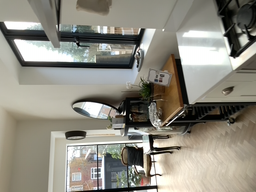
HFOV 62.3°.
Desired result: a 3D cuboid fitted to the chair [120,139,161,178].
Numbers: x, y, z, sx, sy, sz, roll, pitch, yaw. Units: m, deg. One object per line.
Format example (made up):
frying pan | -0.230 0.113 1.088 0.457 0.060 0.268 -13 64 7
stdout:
chair | 0.270 1.470 5.100 0.660 0.840 0.660 -145 57 -78
